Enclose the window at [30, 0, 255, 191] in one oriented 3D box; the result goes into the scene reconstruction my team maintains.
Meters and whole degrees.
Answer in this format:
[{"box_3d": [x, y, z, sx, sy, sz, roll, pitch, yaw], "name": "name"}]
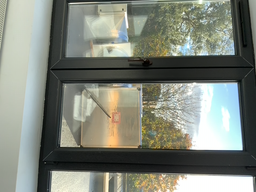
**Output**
[{"box_3d": [0.140, -0.170, 1.400, 0.180, 1.380, 2.430, 66, 25, -79], "name": "window"}]
